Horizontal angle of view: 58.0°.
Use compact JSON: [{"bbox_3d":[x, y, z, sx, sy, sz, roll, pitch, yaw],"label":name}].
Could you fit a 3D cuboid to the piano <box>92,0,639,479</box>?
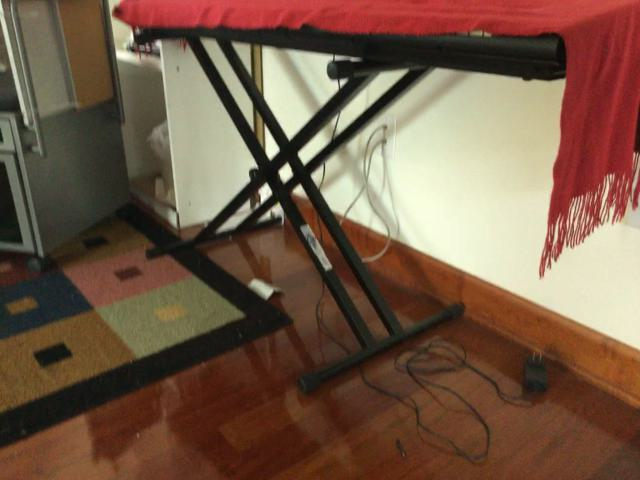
[{"bbox_3d":[0.010,-0.290,1.300,0.460,0.910,1.310,-21,38,-37],"label":"piano"}]
